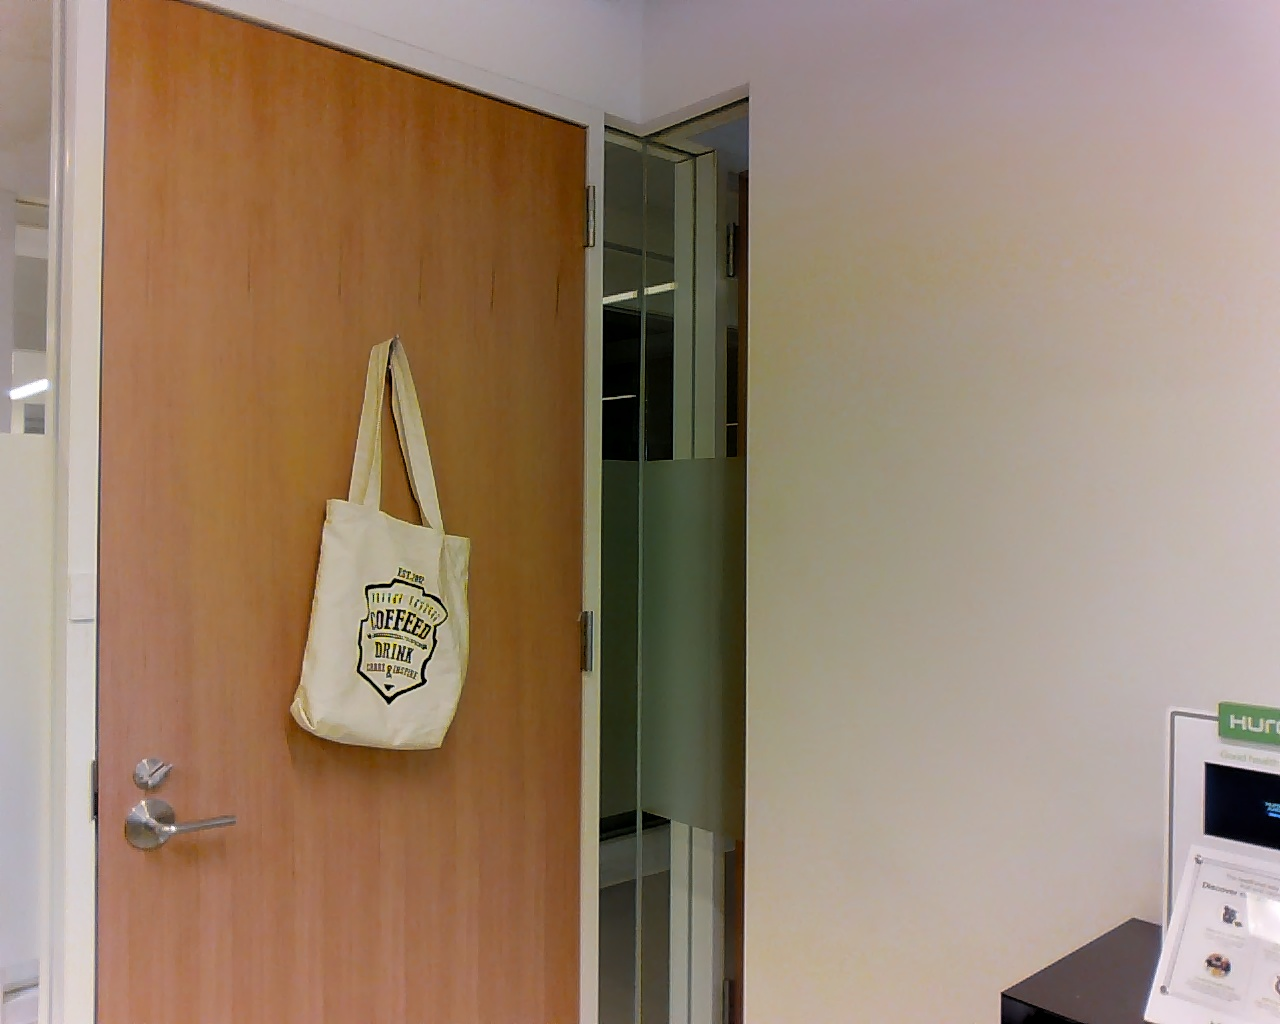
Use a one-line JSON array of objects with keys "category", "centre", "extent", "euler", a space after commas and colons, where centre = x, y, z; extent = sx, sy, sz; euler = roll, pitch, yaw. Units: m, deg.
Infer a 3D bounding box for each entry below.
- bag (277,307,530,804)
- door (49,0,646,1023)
[{"category": "bag", "centre": [-0.390, 0.070, 1.820], "extent": [0.400, 0.760, 0.120], "euler": [2, -1, -43]}, {"category": "door", "centre": [-0.420, 0.320, 1.870], "extent": [1.070, 2.250, 0.070], "euler": [2, -1, -43]}]
